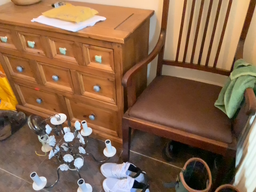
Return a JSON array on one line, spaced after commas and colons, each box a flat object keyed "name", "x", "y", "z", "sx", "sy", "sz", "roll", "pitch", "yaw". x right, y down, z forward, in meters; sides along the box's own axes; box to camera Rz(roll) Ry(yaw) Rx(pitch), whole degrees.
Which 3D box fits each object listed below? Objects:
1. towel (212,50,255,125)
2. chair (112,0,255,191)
[{"name": "towel", "x": 0.540, "y": -0.050, "z": 1.050, "sx": 0.150, "sy": 0.230, "sz": 0.270, "roll": 15, "pitch": 42, "yaw": 19}, {"name": "chair", "x": 0.330, "y": -0.050, "z": 1.180, "sx": 0.590, "sy": 1.020, "sz": 0.580, "roll": 15, "pitch": 41, "yaw": 18}]
